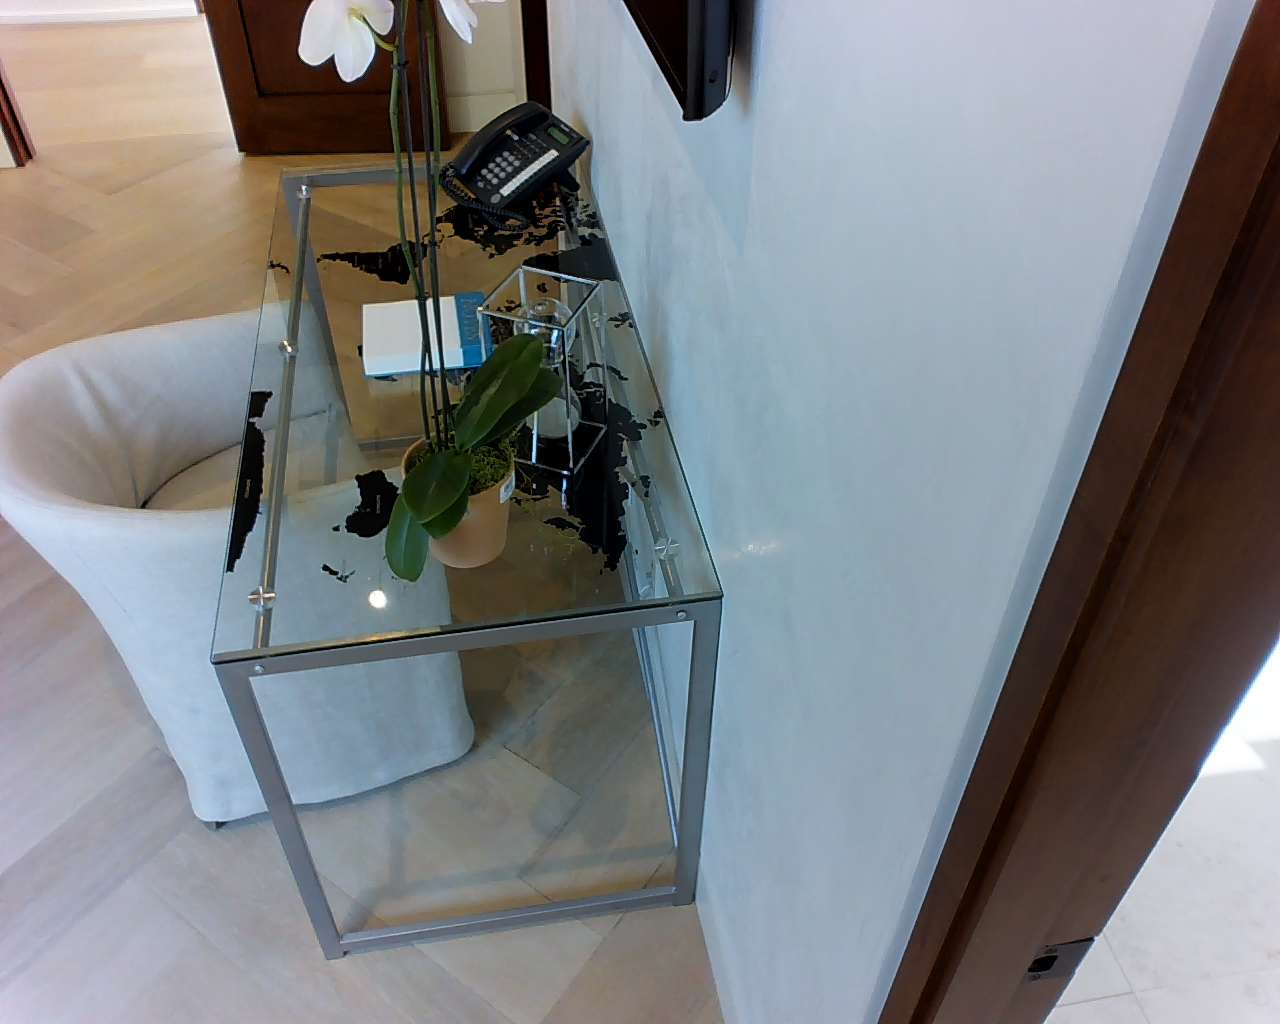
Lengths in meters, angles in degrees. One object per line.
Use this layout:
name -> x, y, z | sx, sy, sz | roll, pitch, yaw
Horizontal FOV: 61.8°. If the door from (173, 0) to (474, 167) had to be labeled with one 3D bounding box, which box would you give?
door -> -1.090, -2.230, 3.120 | 0.920, 2.500, 0.070 | -2, 42, -2
